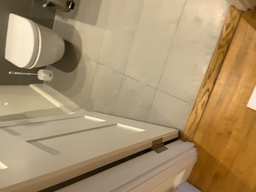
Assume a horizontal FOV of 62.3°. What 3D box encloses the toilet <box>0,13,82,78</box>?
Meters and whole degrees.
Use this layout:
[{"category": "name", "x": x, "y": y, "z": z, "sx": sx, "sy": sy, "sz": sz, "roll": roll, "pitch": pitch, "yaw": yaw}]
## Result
[{"category": "toilet", "x": -0.770, "y": -0.420, "z": 1.790, "sx": 0.530, "sy": 0.460, "sz": 0.370, "roll": 26, "pitch": 107, "yaw": 35}]
